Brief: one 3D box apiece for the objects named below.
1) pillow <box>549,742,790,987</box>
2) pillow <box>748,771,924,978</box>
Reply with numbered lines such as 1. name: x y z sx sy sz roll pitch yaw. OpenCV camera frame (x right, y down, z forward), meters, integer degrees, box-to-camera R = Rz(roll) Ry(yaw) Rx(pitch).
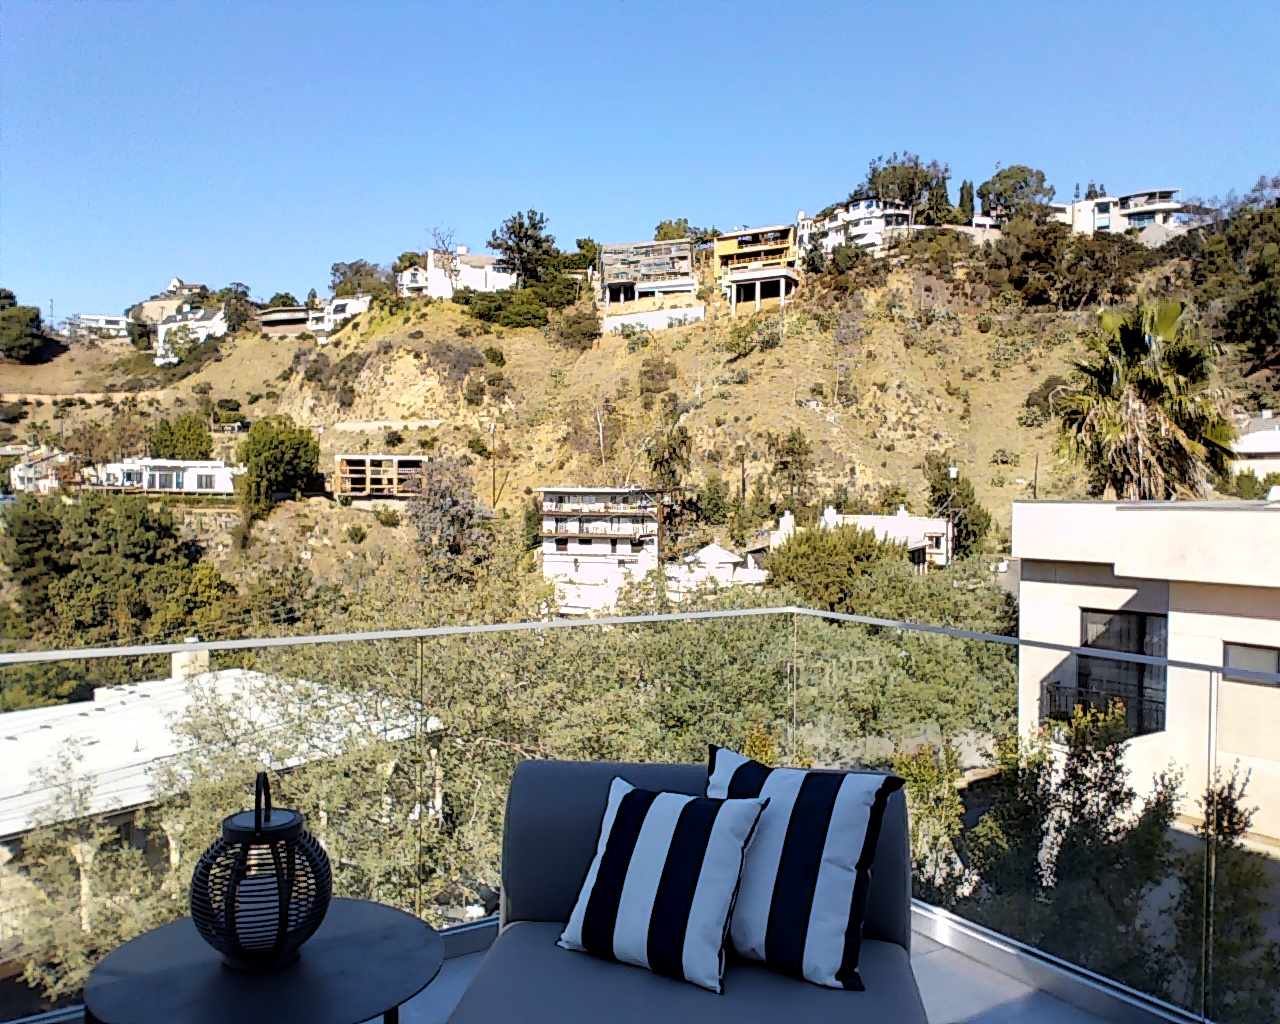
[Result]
1. pillow: 0.060 0.870 2.670 0.480 0.490 0.210 -22 -21 31
2. pillow: 0.470 0.870 2.610 0.290 0.430 0.210 -16 -15 37
